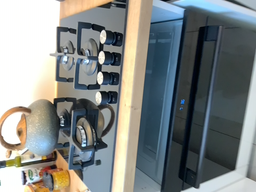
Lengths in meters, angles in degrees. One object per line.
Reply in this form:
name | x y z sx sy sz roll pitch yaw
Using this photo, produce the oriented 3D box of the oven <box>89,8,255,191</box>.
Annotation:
oven | 0.260 -0.020 1.090 0.610 0.670 0.590 17 104 53
